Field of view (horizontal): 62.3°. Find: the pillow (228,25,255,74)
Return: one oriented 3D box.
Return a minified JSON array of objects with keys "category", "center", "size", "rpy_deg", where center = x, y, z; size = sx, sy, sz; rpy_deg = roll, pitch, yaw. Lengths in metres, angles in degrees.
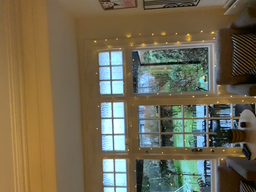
[{"category":"pillow","center":[1.370,-0.540,2.520],"size":[0.100,0.310,0.530],"rpy_deg":[-2,-88,-58]}]

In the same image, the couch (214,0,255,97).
[{"category":"couch","center":[1.530,-0.500,2.400],"size":[0.840,0.810,0.950],"rpy_deg":[-30,-62,-84]}]

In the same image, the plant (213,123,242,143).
[{"category":"plant","center":[1.310,0.490,2.800],"size":[0.150,0.320,0.220],"rpy_deg":[-46,-46,-83]}]
